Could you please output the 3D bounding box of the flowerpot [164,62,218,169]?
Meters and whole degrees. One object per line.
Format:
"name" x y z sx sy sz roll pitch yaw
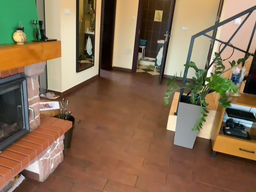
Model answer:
"flowerpot" 0.710 0.210 2.470 0.330 1.100 0.480 12 22 14

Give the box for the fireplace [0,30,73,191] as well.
"fireplace" -1.050 0.220 1.470 0.790 1.180 1.210 11 21 12

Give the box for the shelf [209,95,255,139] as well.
"shelf" 1.700 0.320 2.370 1.430 0.300 0.370 11 21 12
